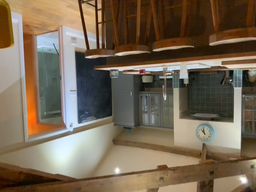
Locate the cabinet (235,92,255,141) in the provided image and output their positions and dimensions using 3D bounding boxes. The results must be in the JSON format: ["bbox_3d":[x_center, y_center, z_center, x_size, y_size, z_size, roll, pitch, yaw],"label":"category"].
[{"bbox_3d":[2.650,0.380,4.060,1.020,0.900,0.420,1,-175,31],"label":"cabinet"}]

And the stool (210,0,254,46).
[{"bbox_3d":[0.850,-0.850,1.720,0.290,0.800,0.300,2,-175,32],"label":"stool"}]

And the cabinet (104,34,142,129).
[{"bbox_3d":[-0.110,-0.360,5.510,0.680,2.270,0.670,1,-175,31],"label":"cabinet"}]
